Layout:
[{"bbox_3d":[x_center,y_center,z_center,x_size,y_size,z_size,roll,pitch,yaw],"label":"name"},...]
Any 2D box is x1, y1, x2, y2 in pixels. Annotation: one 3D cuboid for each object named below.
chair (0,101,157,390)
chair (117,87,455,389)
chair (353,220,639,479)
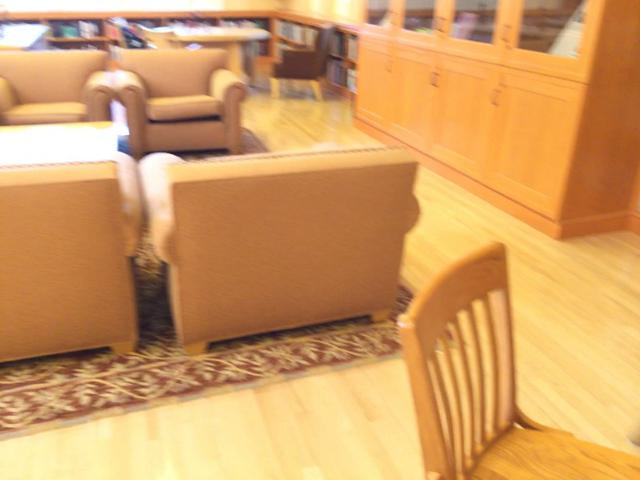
[{"bbox_3d":[-1.240,-0.020,2.200,1.040,0.820,0.860,-7,24,-19],"label":"chair"},{"bbox_3d":[-0.200,-0.110,2.410,1.090,0.870,0.890,-7,24,-19],"label":"chair"},{"bbox_3d":[0.460,0.510,1.140,0.640,0.880,0.470,17,28,33],"label":"chair"}]
